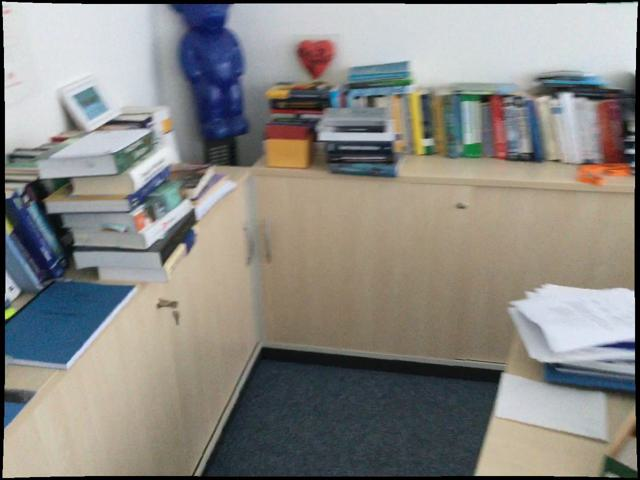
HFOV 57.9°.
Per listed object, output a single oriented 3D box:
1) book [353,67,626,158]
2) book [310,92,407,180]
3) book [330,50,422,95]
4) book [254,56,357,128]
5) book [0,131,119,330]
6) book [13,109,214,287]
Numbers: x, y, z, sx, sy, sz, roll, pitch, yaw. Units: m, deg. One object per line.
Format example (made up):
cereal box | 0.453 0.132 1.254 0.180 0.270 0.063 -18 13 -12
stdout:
book | 0.599 -0.490 2.180 0.919 0.250 0.240 4 28 11
book | 0.150 -0.390 2.130 0.310 0.230 0.290 4 28 11
book | 0.220 -0.651 2.230 0.330 0.120 0.210 4 28 11
book | -0.050 -0.591 2.290 0.360 0.220 0.220 4 28 11
book | -0.749 -0.020 1.320 0.230 0.270 0.640 4 28 11
book | -0.490 -0.120 1.460 0.310 0.330 0.320 4 28 11
